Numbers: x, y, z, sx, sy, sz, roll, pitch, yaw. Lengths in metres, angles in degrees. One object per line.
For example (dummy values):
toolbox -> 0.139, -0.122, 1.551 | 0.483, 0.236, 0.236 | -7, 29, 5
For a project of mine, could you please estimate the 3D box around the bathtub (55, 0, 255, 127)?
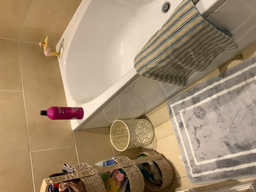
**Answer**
bathtub -> 0.210, -0.480, 1.270 | 1.650, 0.590, 0.750 | -37, 62, 42
